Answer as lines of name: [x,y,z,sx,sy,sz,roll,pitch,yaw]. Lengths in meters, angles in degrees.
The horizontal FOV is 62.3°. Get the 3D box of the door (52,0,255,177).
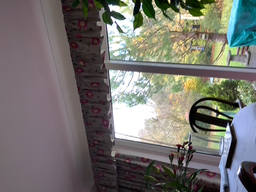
door: [0.530,-0.150,2.170,0.150,2.500,2.200,-62,-25,-55]

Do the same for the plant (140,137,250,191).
plant: [0.280,0.480,1.000,0.270,0.400,0.430,-58,-29,-59]

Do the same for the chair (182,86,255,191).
chair: [0.930,0.340,1.480,0.560,1.000,0.520,-62,-26,-56]
